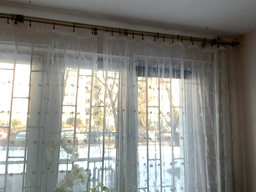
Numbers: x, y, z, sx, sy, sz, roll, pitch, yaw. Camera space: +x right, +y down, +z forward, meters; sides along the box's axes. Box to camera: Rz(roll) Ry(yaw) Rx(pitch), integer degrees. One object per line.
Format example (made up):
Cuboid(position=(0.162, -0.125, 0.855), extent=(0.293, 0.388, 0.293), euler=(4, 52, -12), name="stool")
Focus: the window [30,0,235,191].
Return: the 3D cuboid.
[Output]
Cuboid(position=(0.140, 0.280, 1.980), extent=(1.850, 2.010, 0.220), euler=(3, -6, -17), name="window")
